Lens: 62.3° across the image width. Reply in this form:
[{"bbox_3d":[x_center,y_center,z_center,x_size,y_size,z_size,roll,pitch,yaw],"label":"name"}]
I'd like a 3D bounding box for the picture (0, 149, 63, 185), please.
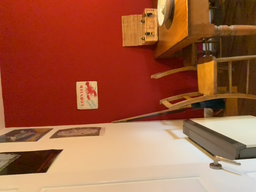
[{"bbox_3d":[-0.850,0.440,1.320,0.500,0.760,0.030,-160,68,-85],"label":"picture"}]

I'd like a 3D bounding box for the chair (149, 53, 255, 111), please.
[{"bbox_3d":[0.660,-0.120,1.860,0.370,0.890,0.430,-154,62,-85],"label":"chair"}]

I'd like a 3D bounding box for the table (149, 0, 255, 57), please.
[{"bbox_3d":[0.690,-0.820,2.030,1.190,0.760,0.720,-148,56,-85],"label":"table"}]
